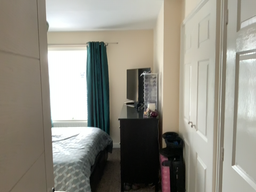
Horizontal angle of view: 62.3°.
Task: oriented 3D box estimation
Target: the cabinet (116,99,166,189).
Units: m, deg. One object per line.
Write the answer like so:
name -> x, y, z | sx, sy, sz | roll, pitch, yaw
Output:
cabinet -> 0.190, 0.620, 3.460 | 0.620, 0.950, 1.630 | -1, 6, 2
